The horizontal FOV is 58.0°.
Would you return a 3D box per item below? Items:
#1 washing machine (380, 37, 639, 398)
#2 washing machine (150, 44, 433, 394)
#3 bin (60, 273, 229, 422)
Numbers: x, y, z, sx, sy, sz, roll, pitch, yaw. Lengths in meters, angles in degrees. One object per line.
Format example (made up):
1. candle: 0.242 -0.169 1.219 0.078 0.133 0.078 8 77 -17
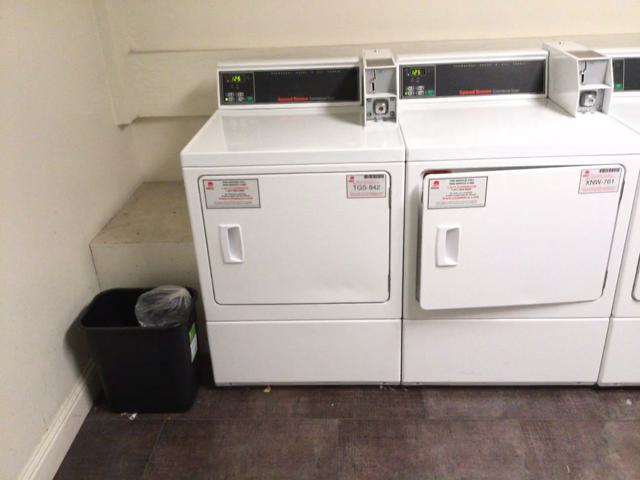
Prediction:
1. washing machine: 0.650 -0.100 2.100 0.690 1.060 0.730 -5 23 12
2. washing machine: -0.020 -0.100 2.200 0.740 1.070 0.710 -7 22 9
3. bin: -0.610 0.380 2.100 0.400 0.400 0.340 -2 24 12
